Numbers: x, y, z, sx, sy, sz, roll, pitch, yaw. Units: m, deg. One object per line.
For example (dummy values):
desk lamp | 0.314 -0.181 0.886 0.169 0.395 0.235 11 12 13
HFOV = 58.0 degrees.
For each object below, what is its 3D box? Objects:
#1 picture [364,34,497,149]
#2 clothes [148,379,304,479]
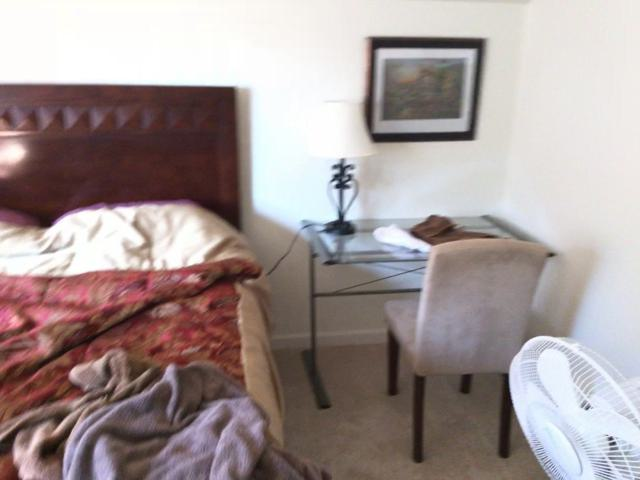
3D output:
picture | 0.510 -0.680 2.690 0.580 0.480 0.050 1 14 -9
clothes | -0.170 0.420 1.060 0.260 0.080 0.470 1 18 -9
